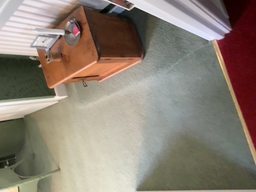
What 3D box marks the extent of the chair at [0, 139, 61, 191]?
[{"bbox_3d":[-1.120,0.870,1.970,0.640,0.660,0.600,17,104,34],"label":"chair"}]
